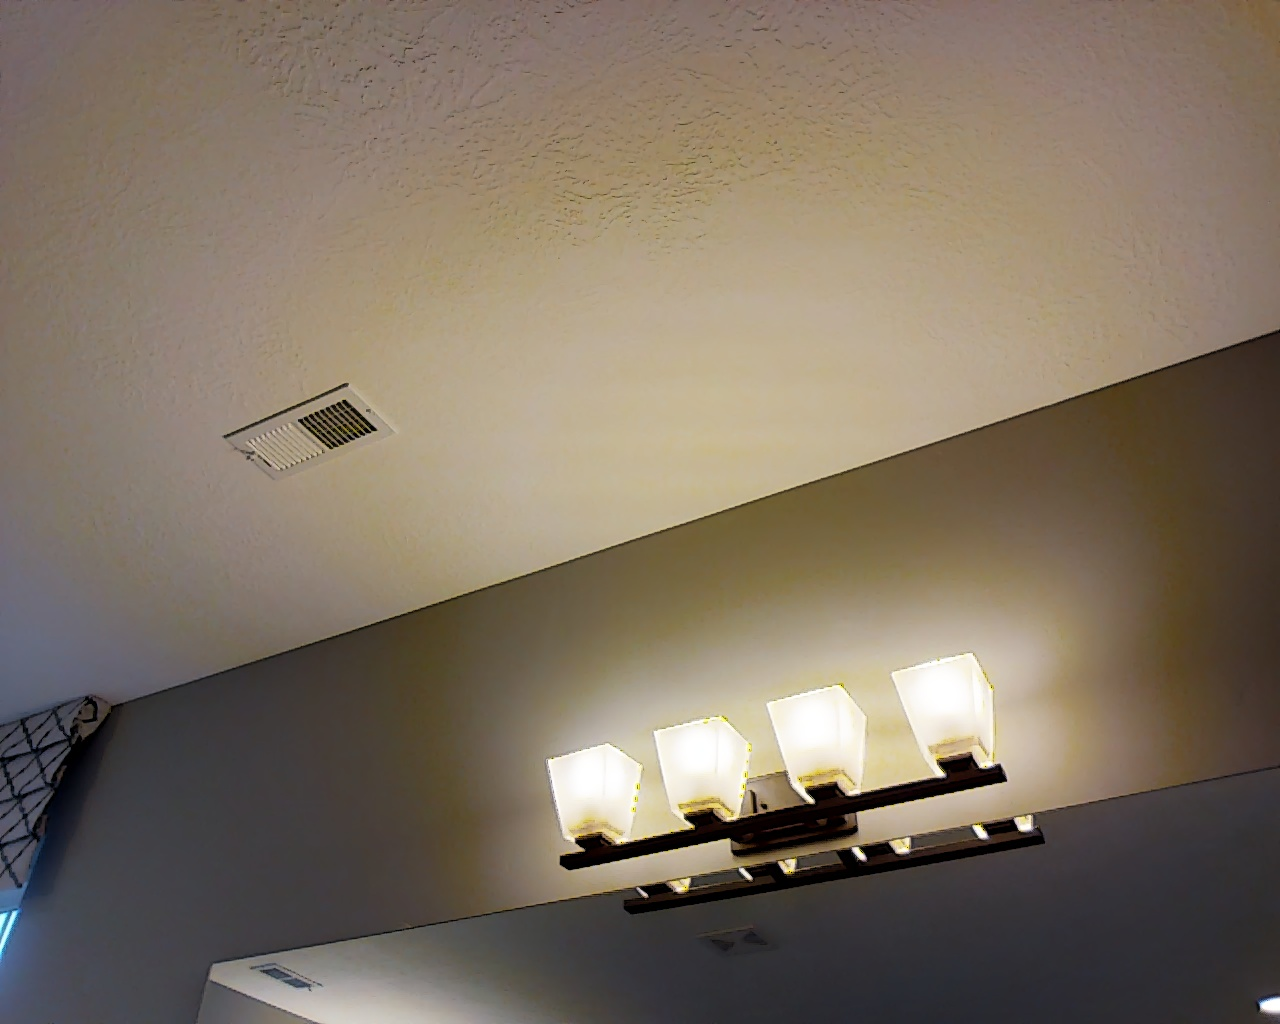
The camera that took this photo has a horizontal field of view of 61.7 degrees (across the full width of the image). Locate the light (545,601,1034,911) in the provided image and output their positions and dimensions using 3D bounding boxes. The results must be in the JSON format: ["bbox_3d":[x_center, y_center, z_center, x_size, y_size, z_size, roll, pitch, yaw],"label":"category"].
[{"bbox_3d":[0.200,0.380,1.610,0.670,0.270,0.180,-18,-44,21],"label":"light"}]
